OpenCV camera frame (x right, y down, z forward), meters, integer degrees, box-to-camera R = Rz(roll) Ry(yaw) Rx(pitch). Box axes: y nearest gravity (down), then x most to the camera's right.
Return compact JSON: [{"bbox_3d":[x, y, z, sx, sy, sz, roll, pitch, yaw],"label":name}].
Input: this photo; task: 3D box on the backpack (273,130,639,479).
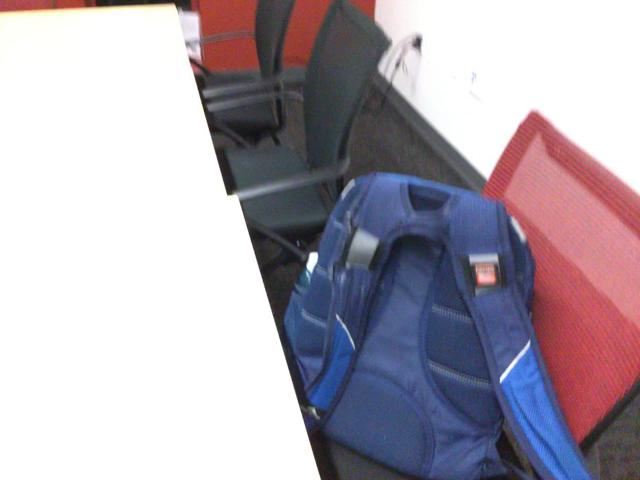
[{"bbox_3d":[0.140,0.150,0.850,0.330,0.440,0.480,-6,35,-14],"label":"backpack"}]
